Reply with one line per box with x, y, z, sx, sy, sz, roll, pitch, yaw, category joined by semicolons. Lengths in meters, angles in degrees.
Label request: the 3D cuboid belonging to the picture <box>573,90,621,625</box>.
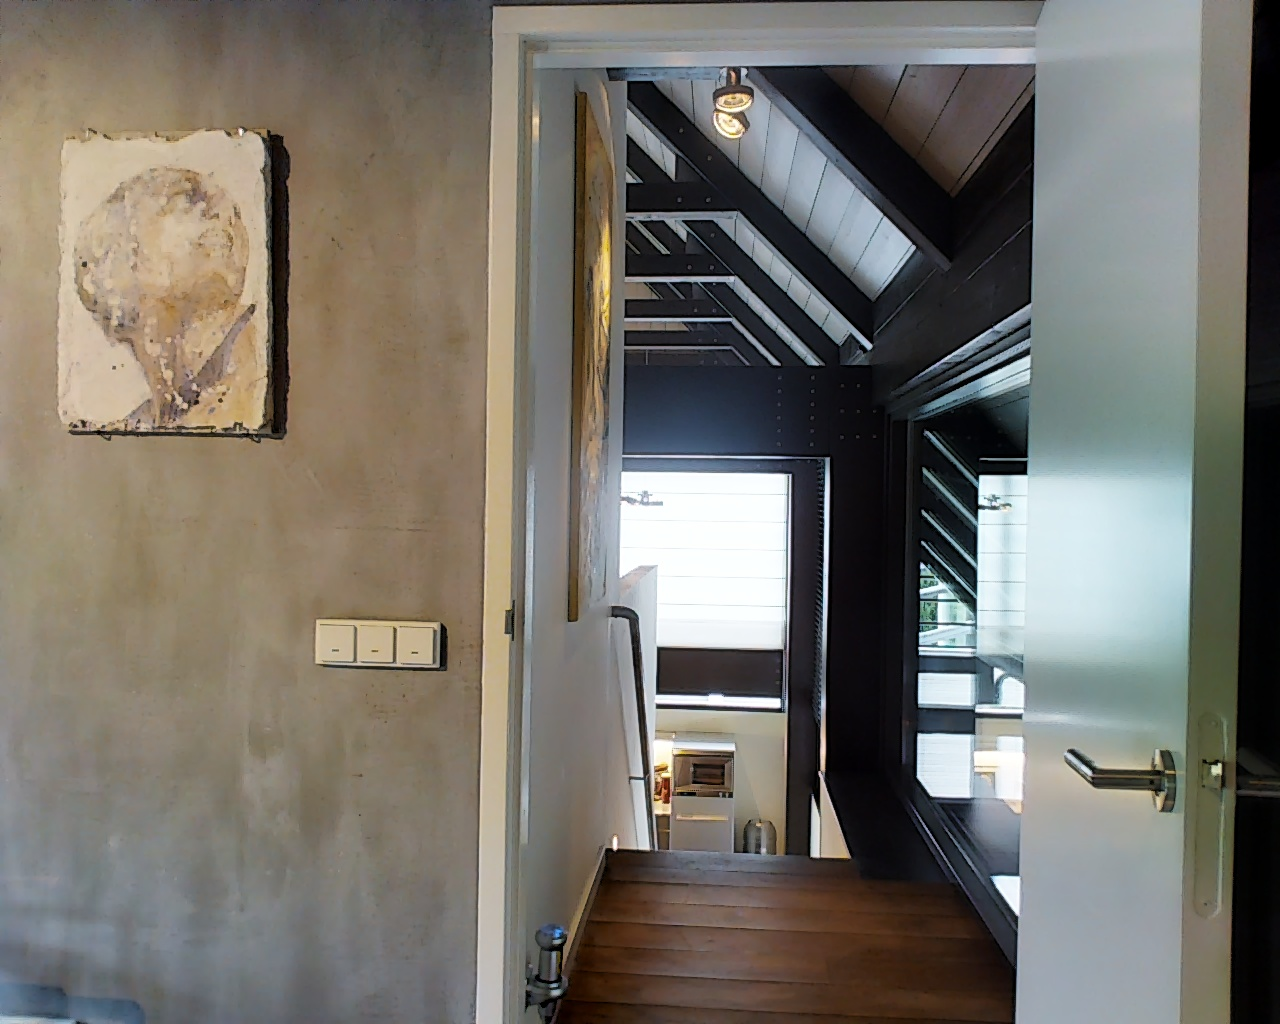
-0.120;-0.410;3.220;0.030;1.410;0.750;1;1;5;picture
